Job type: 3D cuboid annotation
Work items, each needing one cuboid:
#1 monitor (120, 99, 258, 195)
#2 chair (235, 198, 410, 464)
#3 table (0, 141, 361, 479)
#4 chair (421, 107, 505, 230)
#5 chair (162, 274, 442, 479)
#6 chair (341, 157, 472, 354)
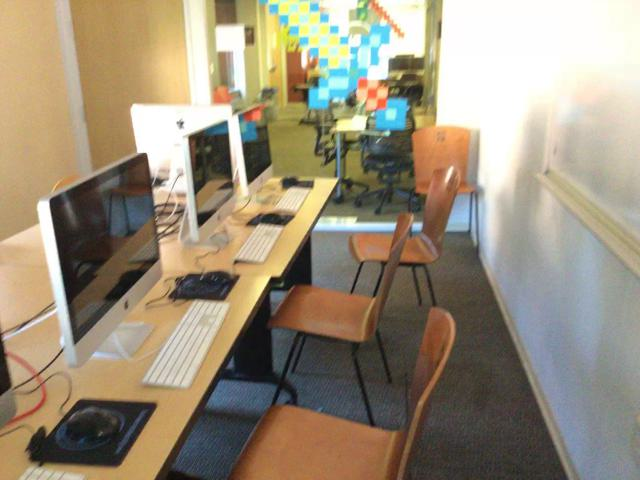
[{"bbox_3d":[-0.630,-0.460,2.840,0.600,0.430,0.180,2,20,8],"label":"monitor"},{"bbox_3d":[0.050,0.300,2.170,0.540,0.770,0.590,2,20,8],"label":"chair"},{"bbox_3d":[-0.760,0.300,1.260,1.390,0.230,4.340,2,20,8],"label":"table"},{"bbox_3d":[0.980,-0.520,4.070,0.480,0.760,0.500,2,20,8],"label":"chair"},{"bbox_3d":[0.000,0.550,1.420,0.520,0.780,0.490,2,20,8],"label":"chair"},{"bbox_3d":[0.410,0.050,2.850,0.550,0.800,0.560,2,20,8],"label":"chair"}]
